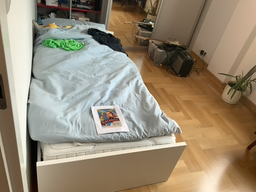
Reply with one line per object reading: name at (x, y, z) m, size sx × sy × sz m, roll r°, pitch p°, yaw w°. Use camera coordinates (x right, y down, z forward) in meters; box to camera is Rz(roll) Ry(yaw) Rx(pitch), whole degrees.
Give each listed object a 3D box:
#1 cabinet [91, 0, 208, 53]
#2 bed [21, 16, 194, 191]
cabinet at (0.500, -2.070, 3.310) m, size 1.770 × 2.610 × 0.660 m, roll -1°, pitch 38°, yaw -21°
bed at (-0.430, -0.150, 2.190) m, size 1.070 × 0.480 × 2.180 m, roll -2°, pitch 38°, yaw -22°
